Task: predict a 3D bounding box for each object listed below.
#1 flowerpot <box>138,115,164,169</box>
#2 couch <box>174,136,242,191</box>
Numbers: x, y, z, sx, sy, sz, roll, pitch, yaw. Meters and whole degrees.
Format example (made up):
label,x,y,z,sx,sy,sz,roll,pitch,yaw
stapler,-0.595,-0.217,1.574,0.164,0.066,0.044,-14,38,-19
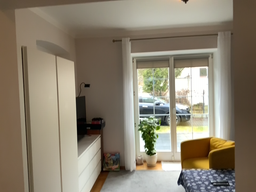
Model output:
label,x,y,z,sx,sy,sz,roll,pitch,yaw
flowerpot,0.500,0.960,4.560,0.490,1.010,0.550,-2,3,6
couch,1.290,1.130,3.490,0.750,0.720,0.720,-3,3,-21
